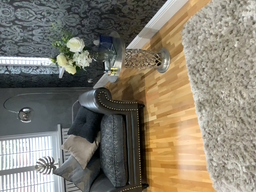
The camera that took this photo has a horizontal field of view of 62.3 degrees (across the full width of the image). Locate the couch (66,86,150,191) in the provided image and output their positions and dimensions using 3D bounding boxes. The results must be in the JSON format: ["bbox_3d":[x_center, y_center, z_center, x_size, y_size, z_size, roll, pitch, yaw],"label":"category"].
[{"bbox_3d":[-0.350,0.700,3.060,1.180,0.800,1.640,0,92,64],"label":"couch"}]
